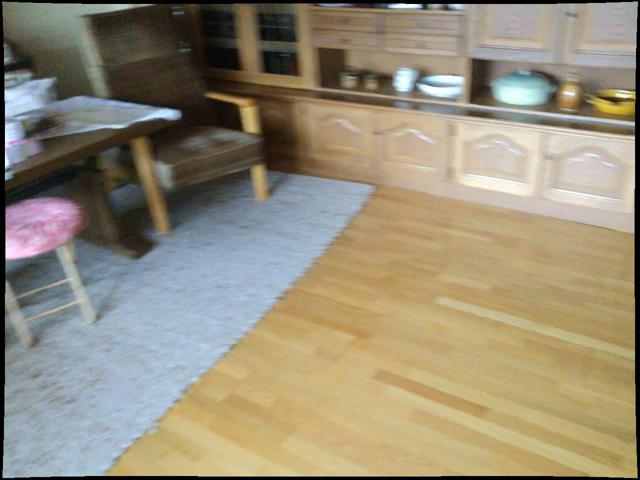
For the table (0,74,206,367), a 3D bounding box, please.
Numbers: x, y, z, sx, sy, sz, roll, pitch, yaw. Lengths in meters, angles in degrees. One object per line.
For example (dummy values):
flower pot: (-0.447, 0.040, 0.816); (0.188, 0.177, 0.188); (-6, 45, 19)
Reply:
table: (-1.319, -0.110, 2.400); (0.779, 0.691, 1.590); (15, 34, 25)
